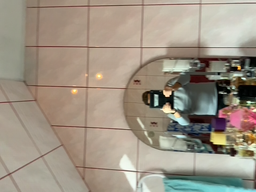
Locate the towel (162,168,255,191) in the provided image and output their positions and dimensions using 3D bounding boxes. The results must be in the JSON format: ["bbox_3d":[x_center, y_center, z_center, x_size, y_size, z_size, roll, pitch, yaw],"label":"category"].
[{"bbox_3d":[0.460,0.550,1.080,0.100,0.560,0.290,6,-94,-83],"label":"towel"}]
